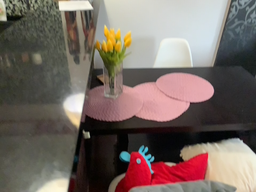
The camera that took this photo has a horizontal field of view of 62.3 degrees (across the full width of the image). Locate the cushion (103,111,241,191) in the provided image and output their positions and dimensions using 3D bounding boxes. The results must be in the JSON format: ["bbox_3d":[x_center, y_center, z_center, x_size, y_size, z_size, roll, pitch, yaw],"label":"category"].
[{"bbox_3d":[0.160,0.360,1.070,0.520,0.370,0.380,-4,34,-10],"label":"cushion"}]

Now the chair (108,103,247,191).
[{"bbox_3d":[0.150,0.540,1.100,0.420,0.760,0.610,-5,34,-11],"label":"chair"}]

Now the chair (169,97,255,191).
[{"bbox_3d":[0.580,0.510,1.160,0.420,0.770,0.610,-4,34,-9],"label":"chair"}]
